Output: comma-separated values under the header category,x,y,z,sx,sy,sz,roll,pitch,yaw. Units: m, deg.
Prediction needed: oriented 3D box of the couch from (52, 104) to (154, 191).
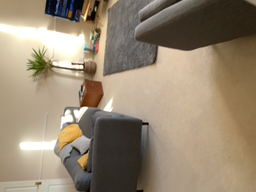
category,x,y,z,sx,sy,sz,roll,pitch,yaw
couch,-0.600,0.680,3.330,2.330,0.770,0.930,2,86,64
